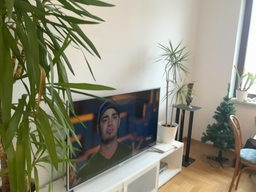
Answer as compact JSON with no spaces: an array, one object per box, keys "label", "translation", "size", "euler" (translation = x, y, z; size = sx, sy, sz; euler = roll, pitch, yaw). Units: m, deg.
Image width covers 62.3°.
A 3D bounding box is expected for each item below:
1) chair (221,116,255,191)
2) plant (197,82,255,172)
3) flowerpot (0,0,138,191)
[{"label":"chair","translation":[1.420,0.710,2.400],"size":[0.480,0.820,0.400],"euler":[12,14,38]},{"label":"plant","translation":[1.470,0.420,3.210],"size":[0.530,1.170,0.470],"euler":[12,14,39]},{"label":"flowerpot","translation":[-0.590,-0.170,1.200],"size":[0.890,1.950,0.880],"euler":[12,14,38]}]
